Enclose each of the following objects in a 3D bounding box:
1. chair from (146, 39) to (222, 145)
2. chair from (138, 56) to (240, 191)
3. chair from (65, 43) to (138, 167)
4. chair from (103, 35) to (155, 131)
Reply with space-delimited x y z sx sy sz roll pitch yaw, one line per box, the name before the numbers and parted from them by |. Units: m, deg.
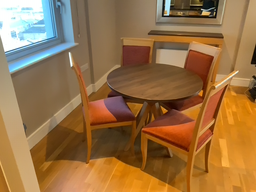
chair | 0.580 -0.070 2.400 0.500 1.000 0.510 -14 30 -27
chair | 0.460 0.240 1.790 0.500 0.980 0.520 -23 34 -38
chair | -0.260 0.070 2.080 0.560 1.020 0.530 -7 28 -13
chair | 0.030 -0.170 2.590 0.460 1.020 0.500 8 27 14
